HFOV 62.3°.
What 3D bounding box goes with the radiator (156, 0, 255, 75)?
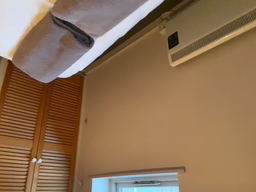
[{"bbox_3d":[0.520,-0.520,1.330,0.140,0.520,0.750,19,150,-39],"label":"radiator"}]
